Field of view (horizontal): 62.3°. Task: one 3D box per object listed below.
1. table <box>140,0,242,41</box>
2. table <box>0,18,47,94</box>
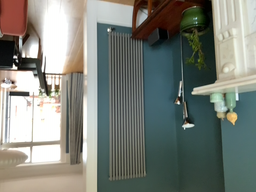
[{"bbox_3d":[0.610,-1.020,2.300,0.690,0.510,0.830,1,174,-20],"label":"table"},{"bbox_3d":[-2.350,-0.640,4.360,1.250,0.890,2.430,1,174,-21],"label":"table"}]
